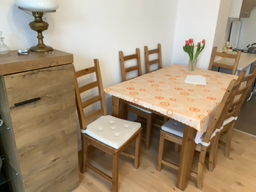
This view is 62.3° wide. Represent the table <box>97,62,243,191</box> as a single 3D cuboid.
[{"bbox_3d":[0.540,0.190,2.470,1.010,0.760,1.500,19,27,34],"label":"table"}]

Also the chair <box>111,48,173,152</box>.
[{"bbox_3d":[0.140,0.020,2.480,0.480,1.040,0.450,20,28,36],"label":"chair"}]

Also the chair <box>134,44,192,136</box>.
[{"bbox_3d":[0.440,-0.100,2.800,0.480,1.040,0.450,20,28,36],"label":"chair"}]
